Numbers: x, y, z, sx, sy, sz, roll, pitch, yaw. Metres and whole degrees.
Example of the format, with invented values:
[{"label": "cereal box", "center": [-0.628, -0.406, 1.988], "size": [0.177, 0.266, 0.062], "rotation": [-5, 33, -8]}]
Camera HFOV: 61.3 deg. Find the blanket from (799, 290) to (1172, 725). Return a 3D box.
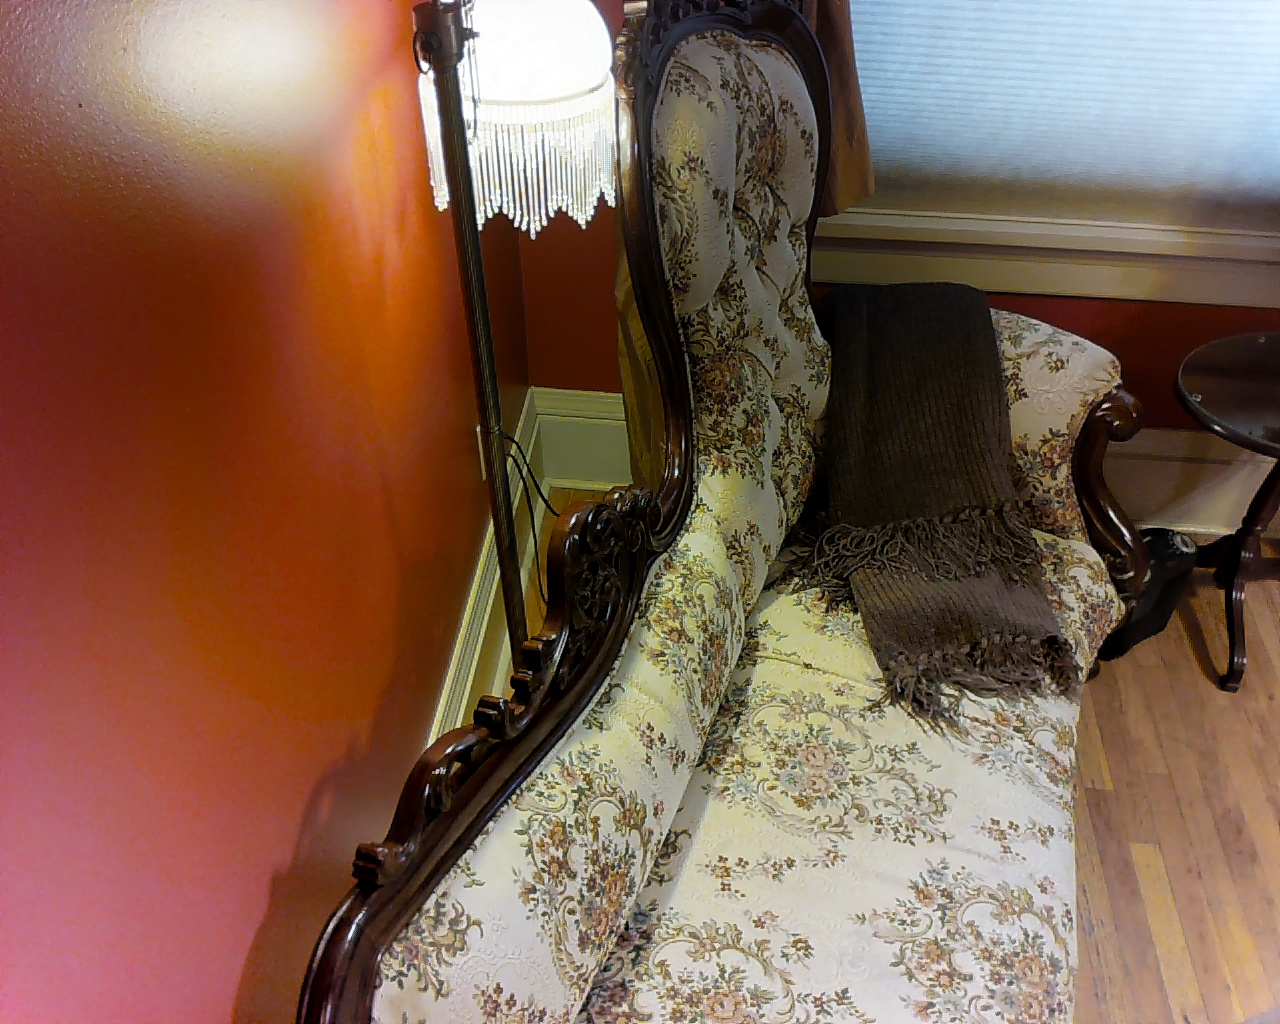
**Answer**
[{"label": "blanket", "center": [0.450, -0.030, 1.570], "size": [0.290, 0.320, 0.570], "rotation": [-4, 41, -4]}]
